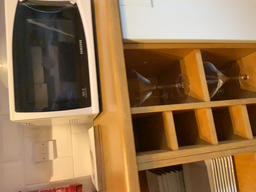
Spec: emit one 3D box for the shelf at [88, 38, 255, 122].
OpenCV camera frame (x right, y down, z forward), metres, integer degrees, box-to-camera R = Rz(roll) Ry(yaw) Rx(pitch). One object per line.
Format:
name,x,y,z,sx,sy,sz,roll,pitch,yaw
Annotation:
shelf,0.300,-0.030,0.870,0.570,0.860,0.160,145,120,-72

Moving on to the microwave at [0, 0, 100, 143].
microwave,-0.290,-0.110,0.820,0.360,0.270,0.530,147,118,-72
